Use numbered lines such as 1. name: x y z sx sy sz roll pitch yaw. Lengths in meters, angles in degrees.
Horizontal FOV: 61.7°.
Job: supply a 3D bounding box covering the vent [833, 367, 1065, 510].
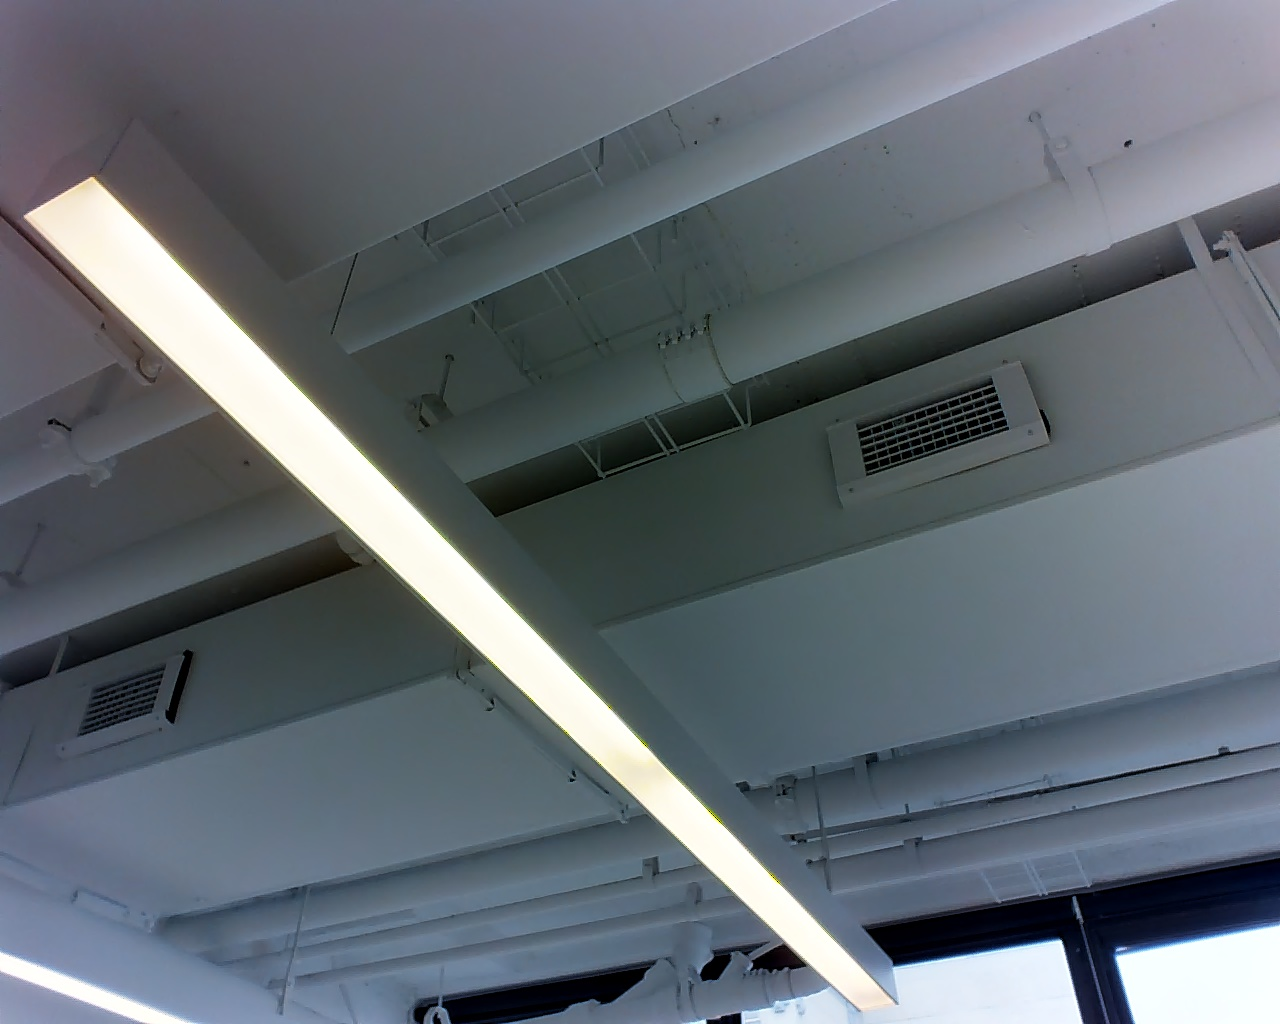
1. vent: 0.500 -0.120 1.770 0.350 0.150 0.030 -18 -45 19
